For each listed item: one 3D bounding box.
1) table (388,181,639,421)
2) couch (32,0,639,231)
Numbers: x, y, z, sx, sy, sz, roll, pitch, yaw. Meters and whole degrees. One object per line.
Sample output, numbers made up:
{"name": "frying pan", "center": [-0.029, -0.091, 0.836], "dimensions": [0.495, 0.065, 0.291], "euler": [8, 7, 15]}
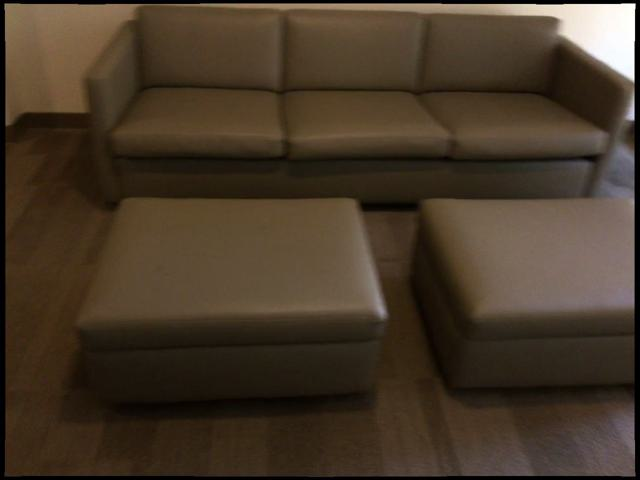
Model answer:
{"name": "table", "center": [0.729, 0.160, 1.930], "dimensions": [0.818, 0.391, 0.690], "euler": [-2, 37, -8]}
{"name": "couch", "center": [0.060, -0.661, 2.720], "dimensions": [2.265, 0.711, 1.001], "euler": [-2, 37, -8]}
